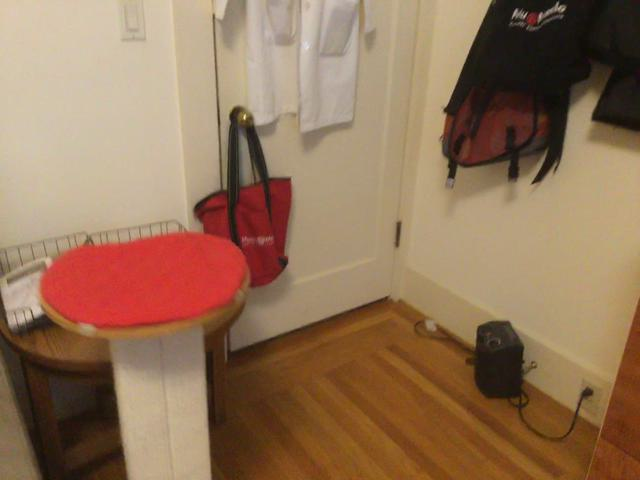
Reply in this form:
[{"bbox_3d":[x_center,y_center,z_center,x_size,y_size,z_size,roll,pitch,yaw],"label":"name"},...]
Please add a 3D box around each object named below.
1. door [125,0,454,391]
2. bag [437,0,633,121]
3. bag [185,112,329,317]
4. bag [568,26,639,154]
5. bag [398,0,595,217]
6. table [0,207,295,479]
[{"bbox_3d":[-0.040,-0.570,1.830,1.070,2.070,0.170,-15,31,-32],"label":"door"},{"bbox_3d":[0.600,-0.640,1.610,0.290,0.500,0.380,-15,31,-32],"label":"bag"},{"bbox_3d":[-0.200,-0.090,1.870,0.390,0.570,0.190,-15,31,-32],"label":"bag"},{"bbox_3d":[0.850,-0.370,1.460,0.120,0.280,0.350,-15,31,-32],"label":"bag"},{"bbox_3d":[0.520,-0.440,1.820,0.260,0.580,0.430,-15,31,-32],"label":"bag"},{"bbox_3d":[-0.490,0.350,1.580,0.600,0.610,0.590,-15,31,-32],"label":"table"}]
